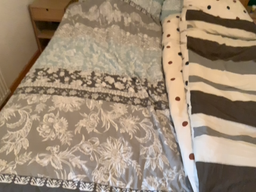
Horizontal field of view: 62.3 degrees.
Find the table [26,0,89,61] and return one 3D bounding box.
[{"bbox_3d":[-0.730,-0.790,2.360,0.430,0.550,0.540,6,43,1],"label":"table"}]
